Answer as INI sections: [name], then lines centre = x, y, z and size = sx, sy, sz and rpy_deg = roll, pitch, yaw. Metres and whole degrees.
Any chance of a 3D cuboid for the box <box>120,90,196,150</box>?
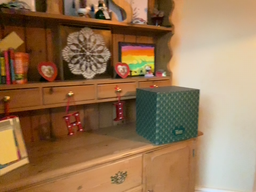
[box]
centre = 0.170, 0.120, 1.310
size = 0.330, 0.260, 0.320
rpy_deg = -5, 11, -31
